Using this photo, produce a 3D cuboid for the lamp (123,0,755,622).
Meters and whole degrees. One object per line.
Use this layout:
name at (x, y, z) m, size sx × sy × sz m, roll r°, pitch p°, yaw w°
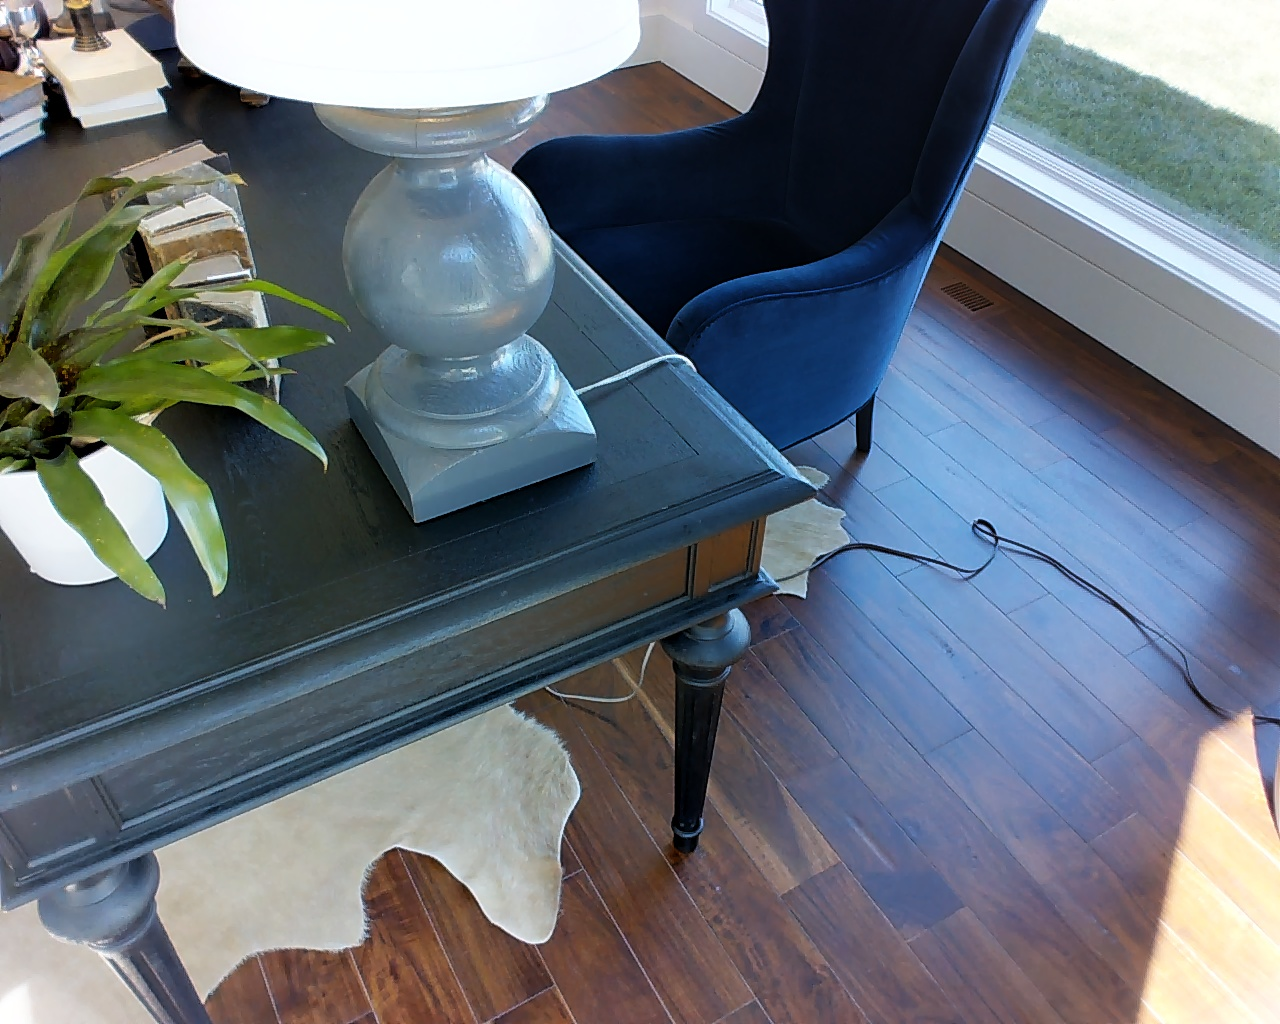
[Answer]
lamp at (-0.190, -0.350, 0.990) m, size 0.410 × 0.730 × 0.400 m, roll -22°, pitch 47°, yaw -23°
